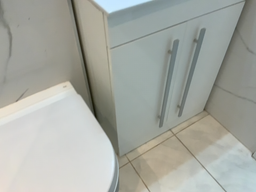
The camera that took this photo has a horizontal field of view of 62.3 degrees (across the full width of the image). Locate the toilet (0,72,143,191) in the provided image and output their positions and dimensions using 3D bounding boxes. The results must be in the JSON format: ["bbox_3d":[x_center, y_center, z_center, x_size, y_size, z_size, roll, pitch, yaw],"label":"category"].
[{"bbox_3d":[-0.270,0.300,0.840,0.390,0.450,0.550,-25,52,-21],"label":"toilet"}]
